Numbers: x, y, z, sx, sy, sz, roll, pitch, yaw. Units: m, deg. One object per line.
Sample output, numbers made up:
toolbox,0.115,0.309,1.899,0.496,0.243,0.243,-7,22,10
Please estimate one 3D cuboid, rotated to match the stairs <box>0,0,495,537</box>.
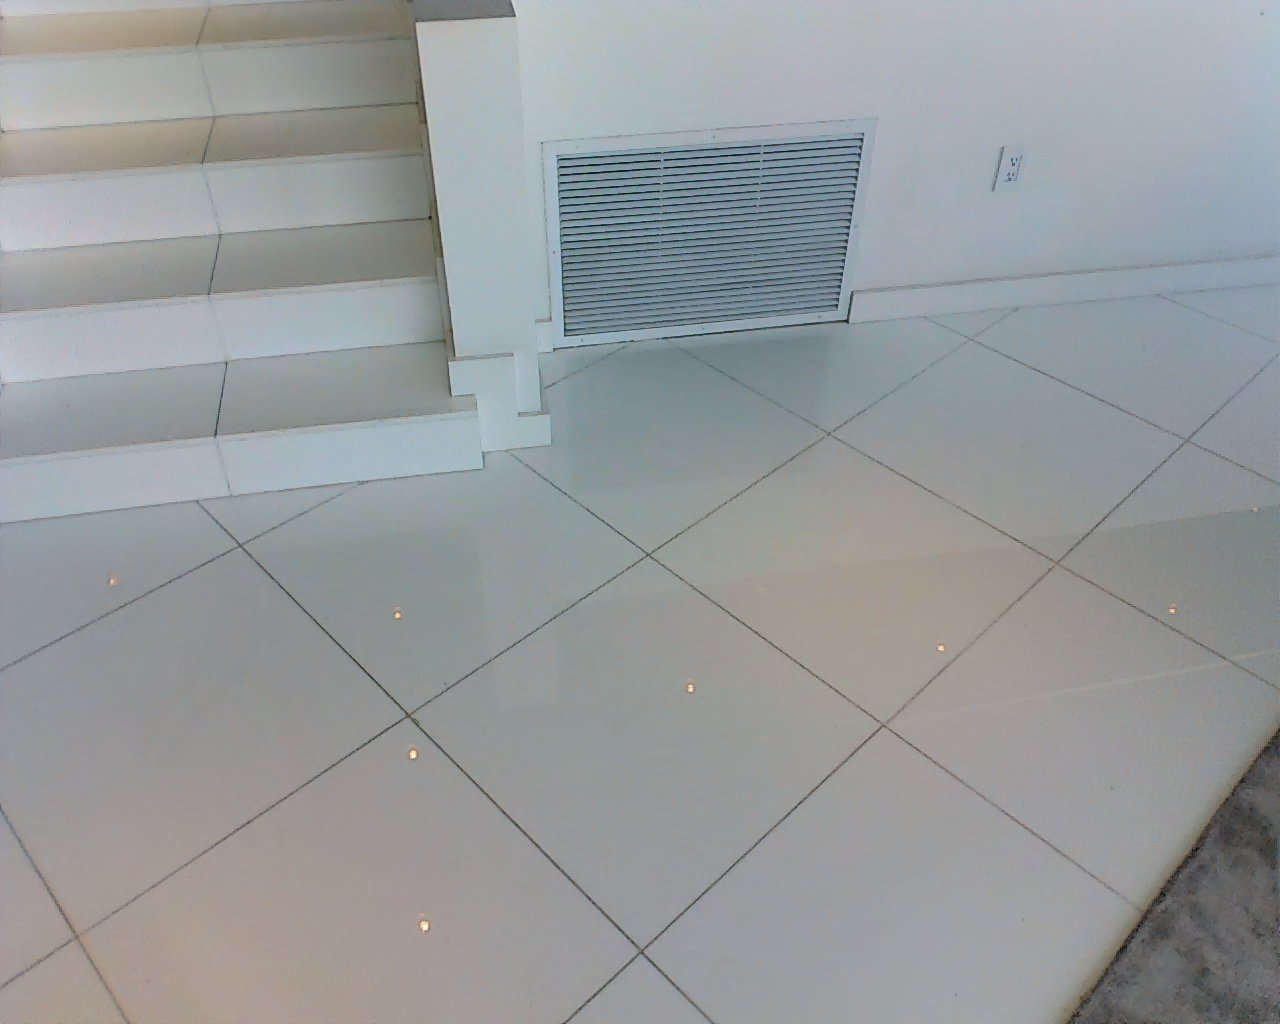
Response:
stairs,-1.000,-0.830,2.500,1.120,1.030,1.350,-7,42,-9
